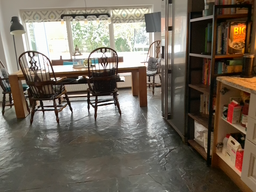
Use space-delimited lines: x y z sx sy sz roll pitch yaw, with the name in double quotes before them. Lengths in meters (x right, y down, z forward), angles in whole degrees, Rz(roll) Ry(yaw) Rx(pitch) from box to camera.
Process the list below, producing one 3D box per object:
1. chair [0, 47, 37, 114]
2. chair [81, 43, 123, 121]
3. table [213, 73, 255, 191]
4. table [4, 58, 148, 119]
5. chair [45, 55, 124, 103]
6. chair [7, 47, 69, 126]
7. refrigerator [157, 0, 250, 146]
"chair" -2.200 -0.310 3.970 0.620 1.140 0.570 -6 17 -9
"chair" -0.440 -0.260 3.530 0.520 1.150 0.600 -7 17 -14
"table" 1.130 0.290 1.840 0.570 0.920 0.340 -5 17 -9
"table" -0.890 -0.220 4.140 2.370 0.760 0.950 -6 17 -8
"chair" -0.860 -0.390 4.550 1.510 0.850 0.510 -4 17 -1
"chair" -1.390 -0.180 3.430 0.560 1.140 0.640 -3 16 0
"refrigerator" 0.860 -0.390 2.770 0.690 1.710 0.940 -5 17 -9
